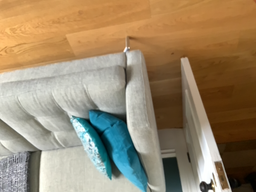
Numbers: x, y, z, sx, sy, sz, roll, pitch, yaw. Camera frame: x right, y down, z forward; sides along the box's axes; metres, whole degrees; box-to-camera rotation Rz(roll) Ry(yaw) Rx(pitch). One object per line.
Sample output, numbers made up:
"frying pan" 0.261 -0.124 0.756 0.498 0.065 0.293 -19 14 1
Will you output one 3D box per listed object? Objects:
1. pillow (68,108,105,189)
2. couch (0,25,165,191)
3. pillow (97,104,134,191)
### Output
"pillow" -0.220 0.280 1.210 0.090 0.280 0.350 -8 103 3
"couch" -0.970 0.400 1.500 2.350 0.730 1.120 -8 138 7
"pillow" -0.050 0.290 1.160 0.120 0.360 0.390 -7 105 3
